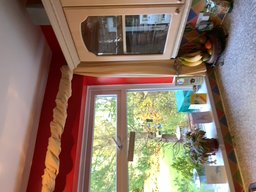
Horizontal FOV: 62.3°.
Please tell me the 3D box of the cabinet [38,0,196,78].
[{"bbox_3d":[-0.060,-0.600,1.390,1.170,0.870,0.340,90,179,-61],"label":"cabinet"}]
